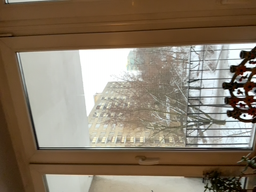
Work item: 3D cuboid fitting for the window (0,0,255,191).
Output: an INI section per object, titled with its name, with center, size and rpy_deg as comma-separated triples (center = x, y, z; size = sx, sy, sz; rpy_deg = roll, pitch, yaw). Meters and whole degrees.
[window]
center = 0.020, 0.100, 1.390
size = 0.140, 1.640, 2.990
rpy_deg = -78, -13, -69
